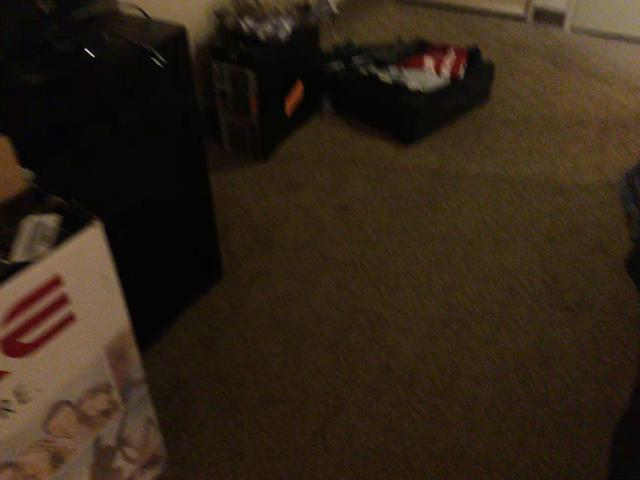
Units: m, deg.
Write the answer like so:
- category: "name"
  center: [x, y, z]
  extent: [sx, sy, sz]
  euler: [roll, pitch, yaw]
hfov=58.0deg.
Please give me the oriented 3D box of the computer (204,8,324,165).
- category: "computer"
  center: [-0.200, -0.640, 2.360]
  extent: [0.220, 0.430, 0.540]
  euler: [17, 40, 20]

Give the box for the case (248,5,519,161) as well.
- category: "case"
  center: [0.320, -0.800, 2.730]
  extent: [0.930, 0.250, 0.920]
  euler: [20, 42, 24]
